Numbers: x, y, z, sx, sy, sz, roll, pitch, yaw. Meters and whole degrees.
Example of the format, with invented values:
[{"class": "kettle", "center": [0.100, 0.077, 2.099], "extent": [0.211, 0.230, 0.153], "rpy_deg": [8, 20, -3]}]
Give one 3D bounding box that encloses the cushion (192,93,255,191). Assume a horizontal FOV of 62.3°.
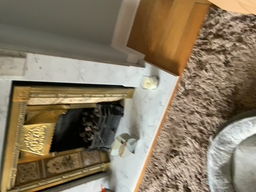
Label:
[{"class": "cushion", "center": [0.680, 0.370, 1.040], "extent": [0.680, 0.120, 0.710], "rpy_deg": [9, 97, 45]}]
